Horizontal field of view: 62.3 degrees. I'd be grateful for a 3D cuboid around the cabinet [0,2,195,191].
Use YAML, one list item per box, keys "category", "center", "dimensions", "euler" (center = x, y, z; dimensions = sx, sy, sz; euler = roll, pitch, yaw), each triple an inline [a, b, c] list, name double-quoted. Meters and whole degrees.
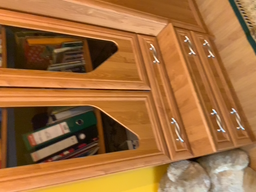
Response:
- category: "cabinet"
  center: [-0.580, 0.040, 0.970]
  dimensions: [0.410, 1.750, 0.830]
  euler: [-41, 55, 51]
